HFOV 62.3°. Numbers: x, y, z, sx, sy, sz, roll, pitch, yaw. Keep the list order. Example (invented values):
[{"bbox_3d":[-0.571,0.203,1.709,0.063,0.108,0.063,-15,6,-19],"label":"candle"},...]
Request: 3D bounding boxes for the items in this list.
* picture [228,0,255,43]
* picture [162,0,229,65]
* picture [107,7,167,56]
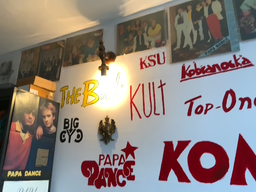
[{"bbox_3d":[0.650,-0.430,1.050,0.260,0.310,0.030,-5,-18,19],"label":"picture"},{"bbox_3d":[0.360,-0.370,1.180,0.330,0.360,0.040,-6,-18,22],"label":"picture"},{"bbox_3d":[0.050,-0.400,1.340,0.380,0.250,0.030,-6,-18,21],"label":"picture"}]
